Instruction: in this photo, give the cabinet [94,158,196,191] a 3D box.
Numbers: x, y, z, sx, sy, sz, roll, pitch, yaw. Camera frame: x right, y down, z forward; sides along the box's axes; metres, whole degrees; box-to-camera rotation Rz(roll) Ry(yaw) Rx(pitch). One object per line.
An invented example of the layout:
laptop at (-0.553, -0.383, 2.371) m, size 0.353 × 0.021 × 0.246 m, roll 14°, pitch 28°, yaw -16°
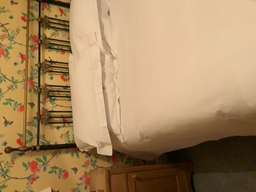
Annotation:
cabinet at (0.140, 0.720, 1.680) m, size 0.320 × 0.730 × 0.370 m, roll -31°, pitch 61°, yaw 56°
